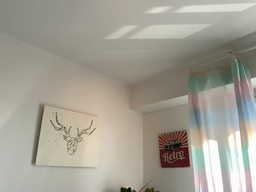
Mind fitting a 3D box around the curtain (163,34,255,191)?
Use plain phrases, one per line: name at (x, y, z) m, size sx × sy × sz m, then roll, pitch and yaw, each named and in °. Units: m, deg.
curtain at (0.610, 0.860, 1.280) m, size 0.420 × 2.430 × 0.570 m, roll 20°, pitch -27°, yaw -41°
